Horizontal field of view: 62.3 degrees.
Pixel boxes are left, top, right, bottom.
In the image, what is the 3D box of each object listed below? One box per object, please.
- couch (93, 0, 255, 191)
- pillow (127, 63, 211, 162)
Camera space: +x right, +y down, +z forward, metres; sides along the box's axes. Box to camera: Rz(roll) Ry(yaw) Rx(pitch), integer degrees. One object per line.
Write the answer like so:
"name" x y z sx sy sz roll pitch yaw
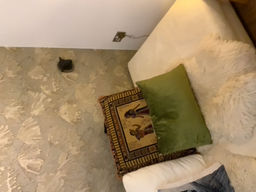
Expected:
"couch" 0.480 0.420 1.440 1.050 0.740 2.050 -43 58 54
"pillow" 0.290 0.090 1.390 0.170 0.360 0.520 -32 94 40
